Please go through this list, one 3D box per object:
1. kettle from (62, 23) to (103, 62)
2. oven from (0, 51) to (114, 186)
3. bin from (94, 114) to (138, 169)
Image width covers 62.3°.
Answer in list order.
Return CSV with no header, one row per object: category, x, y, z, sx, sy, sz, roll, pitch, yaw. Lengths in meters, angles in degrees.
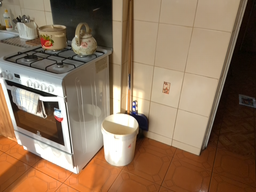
kettle,-0.330,-0.400,1.560,0.210,0.210,0.190,19,33,25
oven,-0.540,0.140,1.800,0.580,0.790,0.640,18,33,24
bin,-0.100,0.380,1.820,0.250,0.290,0.290,17,32,22
